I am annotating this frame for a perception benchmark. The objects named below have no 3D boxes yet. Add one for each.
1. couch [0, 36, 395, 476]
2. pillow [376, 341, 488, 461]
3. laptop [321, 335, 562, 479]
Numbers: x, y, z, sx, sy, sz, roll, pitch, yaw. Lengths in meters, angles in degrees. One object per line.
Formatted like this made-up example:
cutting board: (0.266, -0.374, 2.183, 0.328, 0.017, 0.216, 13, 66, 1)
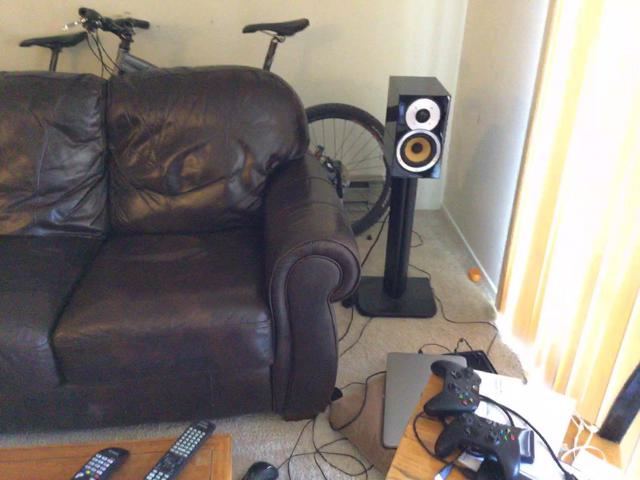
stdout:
couch: (-0.980, -0.010, 1.760, 2.090, 0.970, 0.960, 3, 30, -9)
pillow: (0.320, 0.470, 1.740, 0.290, 0.070, 0.360, 10, 29, -1)
laptop: (0.330, 0.500, 1.750, 0.590, 0.150, 0.450, 3, 30, -9)
